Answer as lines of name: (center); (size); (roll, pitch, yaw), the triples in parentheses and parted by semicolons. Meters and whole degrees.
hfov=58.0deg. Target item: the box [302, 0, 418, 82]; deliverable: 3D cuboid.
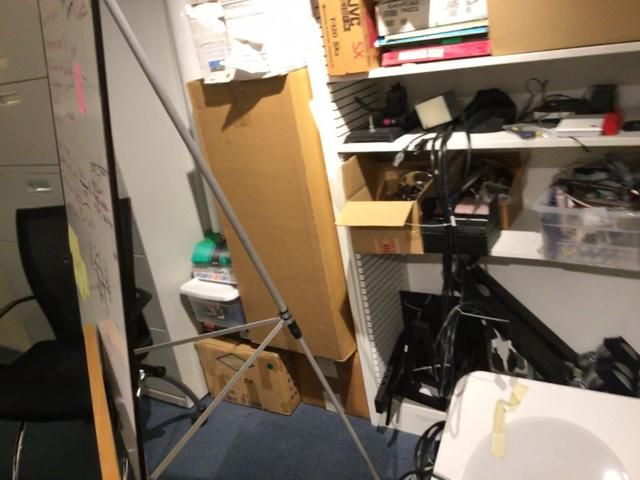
box: (0.130, -0.600, 1.660); (0.150, 0.220, 0.380); (3, 22, 32)

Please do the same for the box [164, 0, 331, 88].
box: (-0.200, -0.570, 1.660); (0.340, 0.190, 0.290); (3, 22, 32)

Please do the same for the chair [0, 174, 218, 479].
chair: (-0.830, 0.350, 1.900); (0.580, 0.940, 0.670); (-4, 19, 16)

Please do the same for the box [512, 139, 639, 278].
box: (0.720, -0.100, 1.480); (0.330, 0.220, 0.440); (3, 22, 32)
